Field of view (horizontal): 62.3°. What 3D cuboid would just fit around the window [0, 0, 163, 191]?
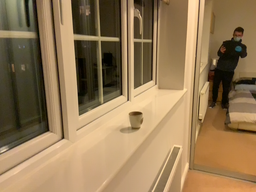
[{"bbox_3d":[-0.140,-0.220,1.020,0.170,0.690,1.620,5,15,24],"label":"window"}]
